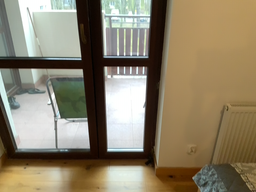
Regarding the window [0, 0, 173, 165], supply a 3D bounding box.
[{"bbox_3d":[-0.450,-0.460,1.570,1.480,2.360,0.180,0,26,-3],"label":"window"}]
